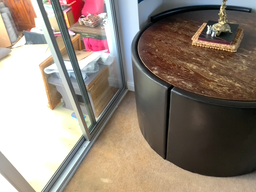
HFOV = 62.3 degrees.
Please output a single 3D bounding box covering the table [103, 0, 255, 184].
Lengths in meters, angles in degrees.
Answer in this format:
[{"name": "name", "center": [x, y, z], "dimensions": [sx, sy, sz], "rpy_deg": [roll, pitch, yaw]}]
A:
[{"name": "table", "center": [0.730, -0.180, 1.820], "dimensions": [1.300, 0.760, 1.310], "rpy_deg": [14, 46, 21]}]
